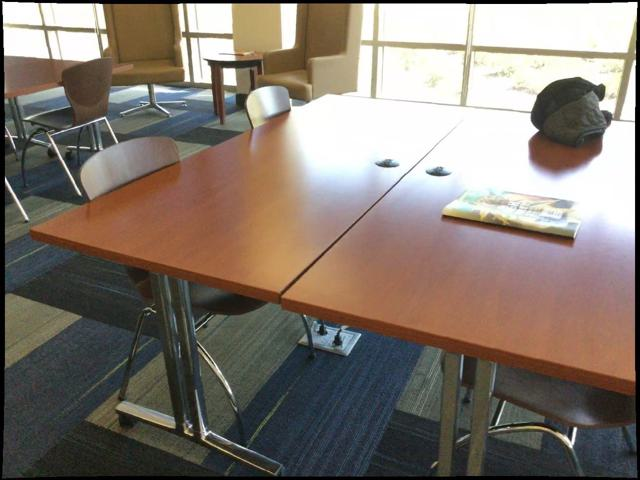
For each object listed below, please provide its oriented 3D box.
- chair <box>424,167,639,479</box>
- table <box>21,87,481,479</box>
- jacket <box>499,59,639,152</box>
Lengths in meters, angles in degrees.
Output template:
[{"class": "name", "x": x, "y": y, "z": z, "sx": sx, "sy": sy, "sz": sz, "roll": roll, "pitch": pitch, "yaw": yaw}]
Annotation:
[{"class": "chair", "x": 0.638, "y": 0.311, "z": 1.460, "sx": 0.589, "sy": 0.792, "sz": 0.520, "roll": 11, "pitch": 29, "yaw": 22}, {"class": "table", "x": 0.000, "y": -0.040, "z": 2.320, "sx": 0.818, "sy": 0.681, "sz": 1.980, "roll": 11, "pitch": 29, "yaw": 23}, {"class": "jacket", "x": 1.027, "y": -0.561, "z": 2.330, "sx": 0.559, "sy": 0.220, "sz": 0.320, "roll": -25, "pitch": 36, "yaw": -39}]
